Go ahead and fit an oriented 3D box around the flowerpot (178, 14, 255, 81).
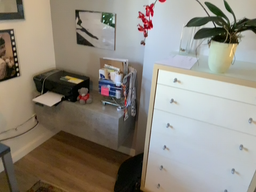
[{"bbox_3d":[0.530,-0.260,1.100,0.460,0.260,0.190,14,27,21],"label":"flowerpot"}]
